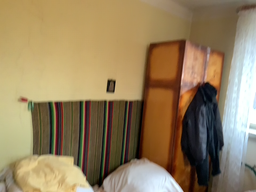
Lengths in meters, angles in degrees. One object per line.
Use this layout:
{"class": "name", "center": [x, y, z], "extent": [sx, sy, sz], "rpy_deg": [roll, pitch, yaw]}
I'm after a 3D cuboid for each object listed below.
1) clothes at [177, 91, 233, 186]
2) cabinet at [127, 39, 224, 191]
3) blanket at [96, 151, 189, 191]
{"class": "clothes", "center": [0.930, 0.460, 2.540], "extent": [0.620, 1.000, 0.250], "rpy_deg": [2, 6, -42]}
{"class": "cabinet", "center": [0.640, 0.400, 2.890], "extent": [0.910, 2.090, 0.630], "rpy_deg": [2, 6, -41]}
{"class": "blanket", "center": [0.140, 0.900, 2.170], "extent": [0.700, 0.390, 0.600], "rpy_deg": [2, 6, -39]}
